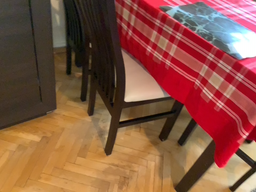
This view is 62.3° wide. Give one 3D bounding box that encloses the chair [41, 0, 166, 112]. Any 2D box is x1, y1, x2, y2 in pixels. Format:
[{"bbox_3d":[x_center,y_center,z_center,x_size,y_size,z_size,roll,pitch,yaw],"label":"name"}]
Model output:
[{"bbox_3d":[-0.180,-0.450,1.310,0.580,0.990,0.420,-12,48,-27],"label":"chair"}]
